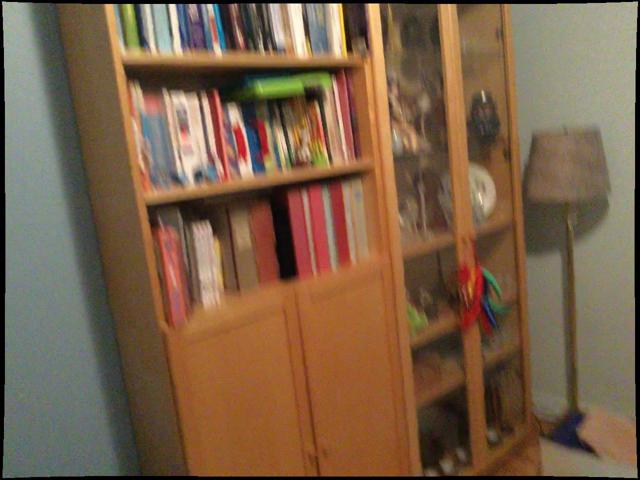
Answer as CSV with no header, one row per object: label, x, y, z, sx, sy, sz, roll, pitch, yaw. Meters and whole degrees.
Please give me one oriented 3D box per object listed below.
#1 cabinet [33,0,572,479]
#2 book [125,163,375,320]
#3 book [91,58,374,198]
cabinet,0.170,0.050,1.890,1.629,2.002,0.470,-17,15,-38
book,-0.170,-0.030,1.700,0.700,0.290,0.210,-17,15,-38
book,-0.210,-0.330,1.630,0.720,0.290,0.270,-17,15,-38
